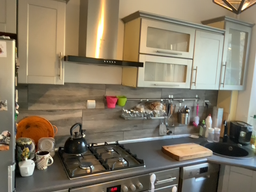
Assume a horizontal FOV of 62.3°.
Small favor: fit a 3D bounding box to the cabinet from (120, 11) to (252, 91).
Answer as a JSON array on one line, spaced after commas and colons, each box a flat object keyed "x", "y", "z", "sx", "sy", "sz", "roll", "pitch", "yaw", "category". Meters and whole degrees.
[{"x": 0.660, "y": -0.390, "z": 2.210, "sx": 1.470, "sy": 0.620, "sz": 0.310, "roll": 0, "pitch": 7, "yaw": -28, "category": "cabinet"}]
